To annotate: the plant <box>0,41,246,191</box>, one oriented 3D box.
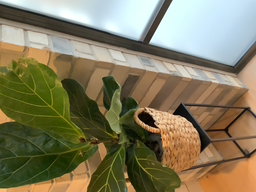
[{"bbox_3d":[-0.080,0.190,0.750,0.440,0.720,0.560,32,112,53],"label":"plant"}]
